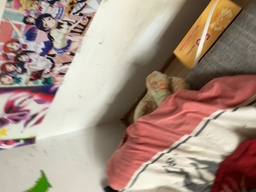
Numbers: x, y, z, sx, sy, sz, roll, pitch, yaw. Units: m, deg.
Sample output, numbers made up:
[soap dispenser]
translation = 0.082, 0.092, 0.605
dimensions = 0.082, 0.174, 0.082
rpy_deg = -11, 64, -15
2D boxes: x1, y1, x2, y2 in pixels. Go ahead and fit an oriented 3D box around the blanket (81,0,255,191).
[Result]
[blanket]
translation = 0.390, 0.390, 0.810
dimensions = 1.040, 0.250, 1.010
rpy_deg = 51, 122, 23
